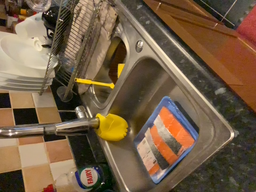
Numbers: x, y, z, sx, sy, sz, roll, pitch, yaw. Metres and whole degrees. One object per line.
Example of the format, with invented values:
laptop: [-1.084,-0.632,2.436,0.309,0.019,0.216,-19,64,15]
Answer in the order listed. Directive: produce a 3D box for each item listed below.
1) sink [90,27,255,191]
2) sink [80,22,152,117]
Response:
sink: [0.090,0.110,0.730,0.420,0.160,0.500,59,133,34]
sink: [-0.070,-0.100,0.900,0.210,0.110,0.330,59,133,34]
